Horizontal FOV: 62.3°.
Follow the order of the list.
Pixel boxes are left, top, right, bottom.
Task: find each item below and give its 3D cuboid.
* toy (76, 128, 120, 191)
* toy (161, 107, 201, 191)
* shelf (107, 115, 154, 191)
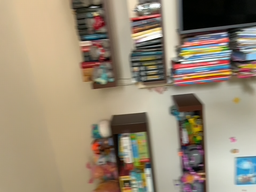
[{"bbox_3d":[-0.210,0.700,1.750,0.230,0.200,0.840,-76,-20,-70],"label":"toy"},{"bbox_3d":[0.420,0.570,1.660,0.220,0.230,0.930,-72,-24,-73],"label":"toy"},{"bbox_3d":[0.080,0.870,1.750,0.230,0.270,1.420,-72,-24,-73],"label":"shelf"}]
